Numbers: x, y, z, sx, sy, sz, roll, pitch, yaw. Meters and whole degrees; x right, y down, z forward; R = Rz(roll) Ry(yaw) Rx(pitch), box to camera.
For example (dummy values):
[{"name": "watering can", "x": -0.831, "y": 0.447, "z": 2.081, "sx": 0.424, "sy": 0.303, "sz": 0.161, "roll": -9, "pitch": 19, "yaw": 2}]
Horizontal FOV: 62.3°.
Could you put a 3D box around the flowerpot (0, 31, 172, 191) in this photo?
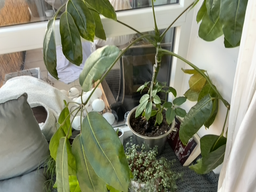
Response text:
[{"name": "flowerpot", "x": -0.110, "y": 0.360, "z": 0.630, "sx": 0.240, "sy": 0.880, "sz": 0.610, "roll": -11, "pitch": 39, "yaw": -12}]
